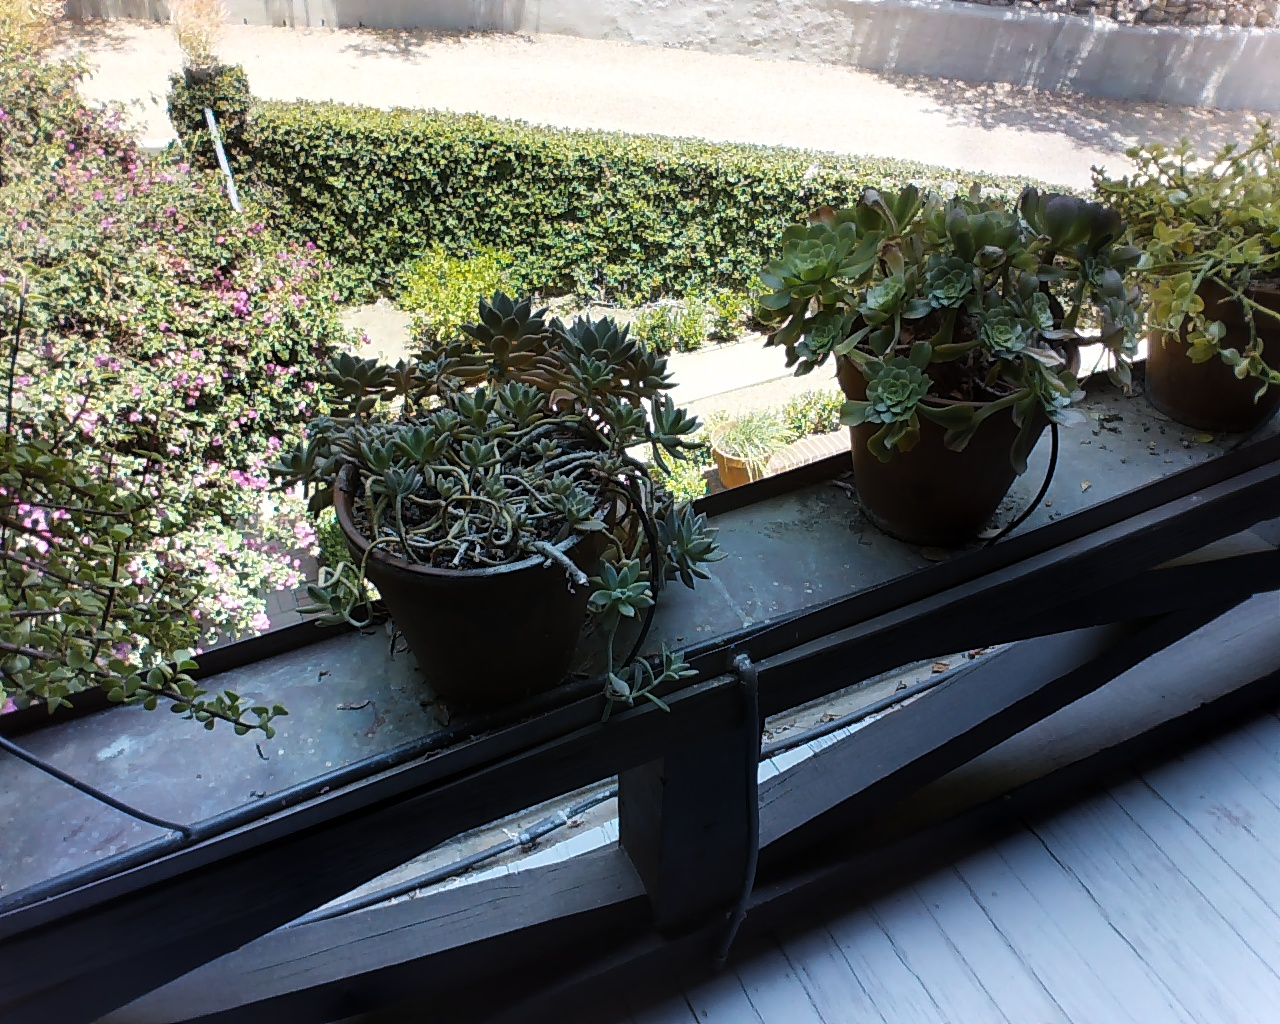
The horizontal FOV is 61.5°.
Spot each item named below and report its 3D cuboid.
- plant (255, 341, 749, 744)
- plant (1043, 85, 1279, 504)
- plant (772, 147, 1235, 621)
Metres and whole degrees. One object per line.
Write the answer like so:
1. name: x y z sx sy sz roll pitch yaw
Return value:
1. plant: -0.120 0.030 1.060 0.400 0.300 0.230 -3 41 -4
2. plant: 0.830 -0.300 1.410 0.340 0.360 0.360 -17 44 -19
3. plant: 0.380 -0.150 1.230 0.330 0.390 0.270 -17 44 -19
